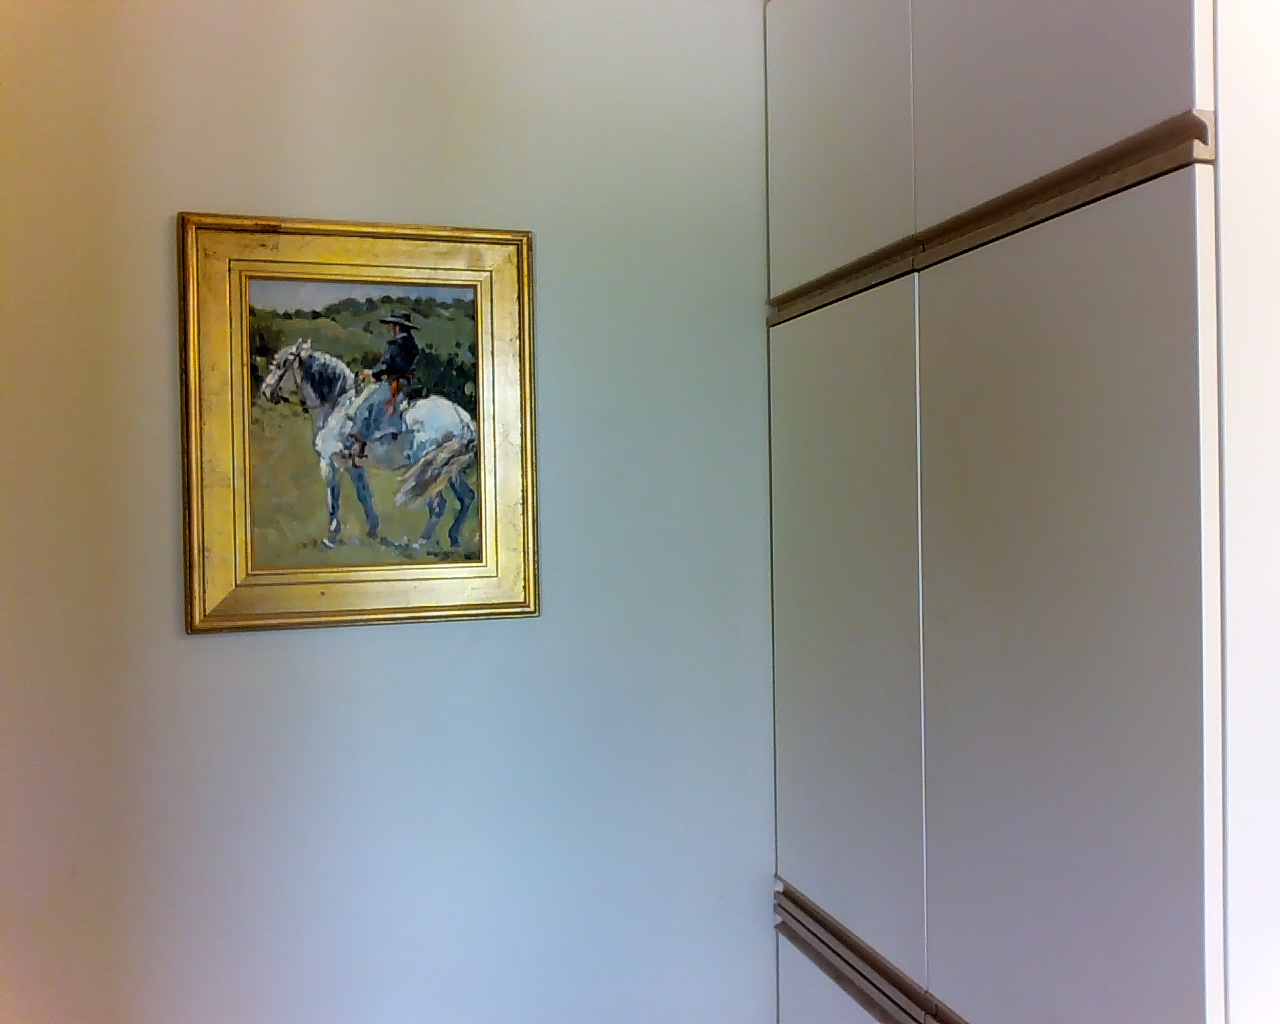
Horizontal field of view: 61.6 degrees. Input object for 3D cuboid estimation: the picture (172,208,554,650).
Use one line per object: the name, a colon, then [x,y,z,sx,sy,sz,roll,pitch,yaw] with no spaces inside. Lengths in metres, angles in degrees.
picture: [-0.330,-0.100,1.320,0.440,0.510,0.030,-1,0,-17]
